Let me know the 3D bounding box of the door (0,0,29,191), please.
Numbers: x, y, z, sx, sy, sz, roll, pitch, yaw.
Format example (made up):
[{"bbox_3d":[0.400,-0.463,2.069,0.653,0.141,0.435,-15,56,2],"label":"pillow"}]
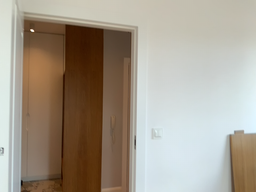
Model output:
[{"bbox_3d":[-0.530,0.470,0.970,0.100,1.930,0.900,1,0,-25],"label":"door"}]
